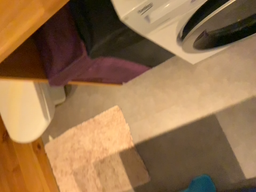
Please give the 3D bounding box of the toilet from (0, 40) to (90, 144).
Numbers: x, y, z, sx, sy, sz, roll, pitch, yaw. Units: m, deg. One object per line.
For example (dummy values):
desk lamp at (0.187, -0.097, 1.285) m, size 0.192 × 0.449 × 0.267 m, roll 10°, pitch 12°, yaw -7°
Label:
toilet at (-0.610, -0.020, 1.430) m, size 0.350 × 0.440 × 0.500 m, roll -28°, pitch 79°, yaw 24°
